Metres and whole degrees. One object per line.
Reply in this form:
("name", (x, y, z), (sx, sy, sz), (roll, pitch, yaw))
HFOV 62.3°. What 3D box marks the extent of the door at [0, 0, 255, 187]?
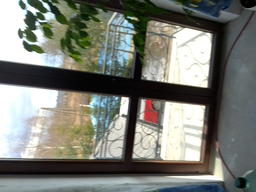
("door", (-0.050, -0.080, 1.700), (0.140, 2.440, 1.560), (-164, 81, -73))
